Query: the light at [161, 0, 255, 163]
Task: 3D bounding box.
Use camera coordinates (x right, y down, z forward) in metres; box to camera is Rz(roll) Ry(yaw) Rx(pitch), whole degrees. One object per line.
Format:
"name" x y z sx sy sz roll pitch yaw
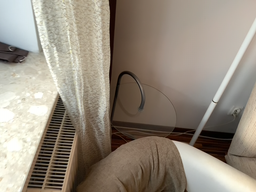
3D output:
"light" 0.520 -0.190 1.150 0.280 1.450 0.390 8 43 -4
